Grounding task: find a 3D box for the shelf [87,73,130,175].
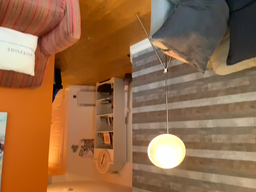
[{"bbox_3d":[-0.490,0.650,5.120,0.480,2.210,0.960,9,166,-43],"label":"shelf"}]
